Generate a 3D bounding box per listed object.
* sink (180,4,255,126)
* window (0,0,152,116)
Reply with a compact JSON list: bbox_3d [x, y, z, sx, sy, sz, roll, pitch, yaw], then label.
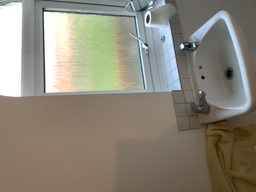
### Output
[{"bbox_3d":[0.450,-0.120,0.980,0.290,0.220,0.460,136,130,-67],"label":"sink"},{"bbox_3d":[-0.360,-0.220,1.170,0.100,0.920,0.610,128,136,-65],"label":"window"}]
